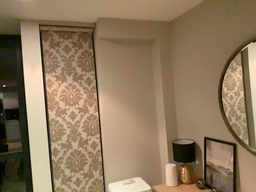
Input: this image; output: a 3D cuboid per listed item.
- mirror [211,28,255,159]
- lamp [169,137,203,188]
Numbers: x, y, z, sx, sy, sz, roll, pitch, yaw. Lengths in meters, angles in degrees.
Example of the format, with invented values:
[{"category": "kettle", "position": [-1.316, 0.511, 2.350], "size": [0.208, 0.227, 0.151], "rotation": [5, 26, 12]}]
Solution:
[{"category": "mirror", "position": [0.870, -0.010, 1.300], "size": [0.090, 0.830, 0.810], "rotation": [-4, 1, -22]}, {"category": "lamp", "position": [0.540, 0.610, 2.000], "size": [0.180, 0.390, 0.230], "rotation": [-4, 1, -23]}]
